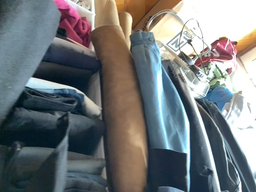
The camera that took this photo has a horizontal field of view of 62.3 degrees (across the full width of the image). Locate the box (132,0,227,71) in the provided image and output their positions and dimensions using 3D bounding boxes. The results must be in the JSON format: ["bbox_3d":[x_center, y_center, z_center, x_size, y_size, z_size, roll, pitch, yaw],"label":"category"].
[{"bbox_3d":[0.390,-0.490,1.620,0.570,0.240,0.400,19,136,-37],"label":"box"}]
